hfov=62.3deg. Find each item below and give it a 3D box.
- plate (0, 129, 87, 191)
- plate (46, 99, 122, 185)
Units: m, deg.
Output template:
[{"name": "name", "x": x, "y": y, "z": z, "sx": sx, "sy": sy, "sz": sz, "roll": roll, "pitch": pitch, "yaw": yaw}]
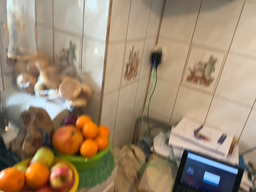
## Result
[{"name": "plate", "x": -0.290, "y": 0.260, "z": 0.700, "sx": 0.220, "sy": 0.160, "sz": 0.200, "roll": 24, "pitch": 28, "yaw": 30}, {"name": "plate", "x": -0.190, "y": 0.180, "z": 0.920, "sx": 0.210, "sy": 0.220, "sz": 0.230, "roll": 23, "pitch": 28, "yaw": 28}]
